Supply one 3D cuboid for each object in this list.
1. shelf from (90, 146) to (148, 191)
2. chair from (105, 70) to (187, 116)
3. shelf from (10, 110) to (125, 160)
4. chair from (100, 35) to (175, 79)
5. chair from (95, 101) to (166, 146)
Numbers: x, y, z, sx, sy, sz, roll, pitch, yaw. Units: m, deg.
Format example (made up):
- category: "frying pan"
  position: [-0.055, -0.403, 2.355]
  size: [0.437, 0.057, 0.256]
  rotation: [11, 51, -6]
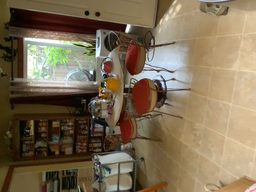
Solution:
- category: "shelf"
  position: [-0.190, 1.480, 3.720]
  size: [0.490, 0.780, 1.080]
  rotation: [-134, 51, -66]
- category: "chair"
  position: [0.200, -0.010, 2.550]
  size: [0.460, 0.840, 0.420]
  rotation: [147, 121, -65]
- category: "shelf"
  position: [-1.150, 0.740, 4.290]
  size: [0.360, 2.130, 0.820]
  rotation: [-153, 66, -67]
- category: "chair"
  position: [0.100, -0.520, 2.850]
  size: [0.460, 0.840, 0.410]
  rotation: [-128, 44, -59]
- category: "chair"
  position: [0.010, 0.390, 3.010]
  size: [0.430, 0.840, 0.460]
  rotation: [120, 145, -51]
